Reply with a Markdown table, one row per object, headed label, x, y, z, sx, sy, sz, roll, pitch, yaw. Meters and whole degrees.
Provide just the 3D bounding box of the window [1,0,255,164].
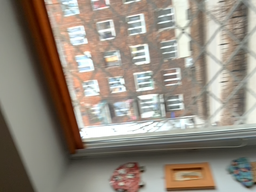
| label | x | y | z | sx | sy | sz | roll | pitch | yaw |
| --- | --- | --- | --- | --- | --- | --- | --- | --- | --- |
| window | 0.210 | -0.550 | 0.960 | 0.190 | 1.630 | 1.840 | -70 | -29 | -67 |
